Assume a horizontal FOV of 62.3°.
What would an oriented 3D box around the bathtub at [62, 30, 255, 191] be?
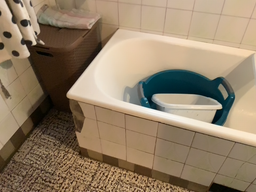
[{"bbox_3d":[0.600,0.150,1.210,1.680,0.520,0.690,13,46,13],"label":"bathtub"}]
